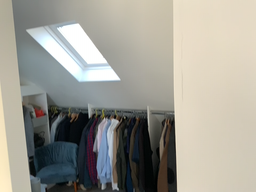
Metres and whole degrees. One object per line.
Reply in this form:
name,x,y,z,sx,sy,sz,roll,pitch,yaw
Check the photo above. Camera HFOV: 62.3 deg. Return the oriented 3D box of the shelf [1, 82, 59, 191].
shelf,-1.320,0.540,2.910,0.400,1.440,0.430,1,8,26
